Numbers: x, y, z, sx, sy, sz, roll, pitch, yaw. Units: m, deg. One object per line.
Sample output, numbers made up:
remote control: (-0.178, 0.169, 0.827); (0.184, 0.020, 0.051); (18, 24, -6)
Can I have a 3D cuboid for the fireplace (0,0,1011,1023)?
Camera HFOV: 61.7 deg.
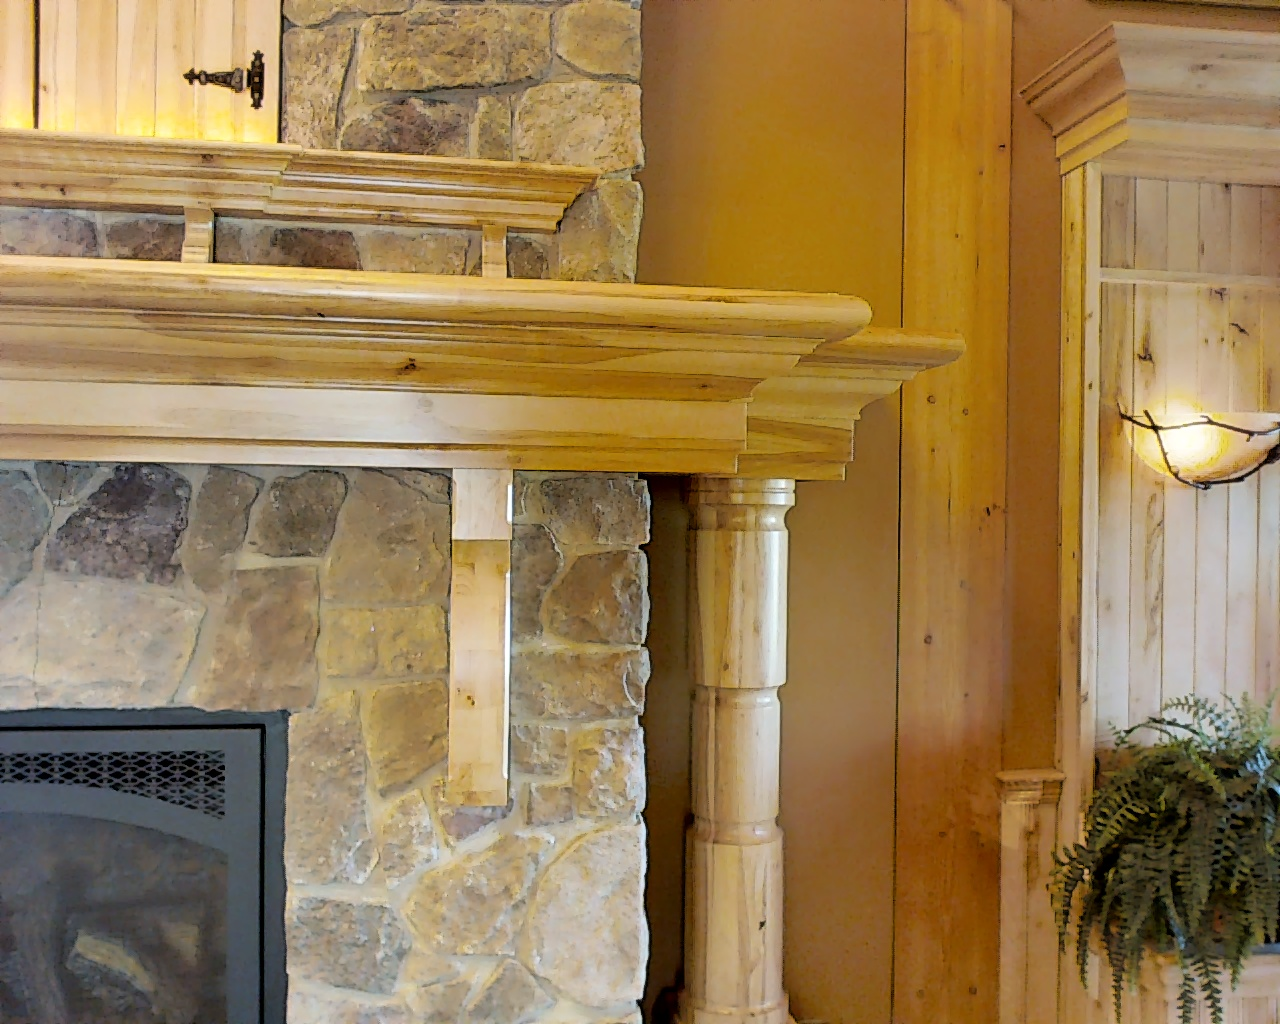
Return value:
fireplace: (-1.230, -1.250, 2.110); (3.770, 5.619, 0.840); (1, 1, -9)
